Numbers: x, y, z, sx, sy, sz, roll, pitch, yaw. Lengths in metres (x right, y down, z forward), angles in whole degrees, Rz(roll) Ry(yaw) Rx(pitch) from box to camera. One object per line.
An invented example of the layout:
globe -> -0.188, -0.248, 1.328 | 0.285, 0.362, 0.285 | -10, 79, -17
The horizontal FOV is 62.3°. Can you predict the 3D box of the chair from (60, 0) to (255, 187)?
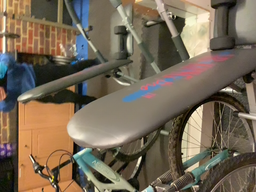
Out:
chair -> 0.330, -0.200, 0.780 | 0.280, 1.050, 0.700 | 16, 104, 54
